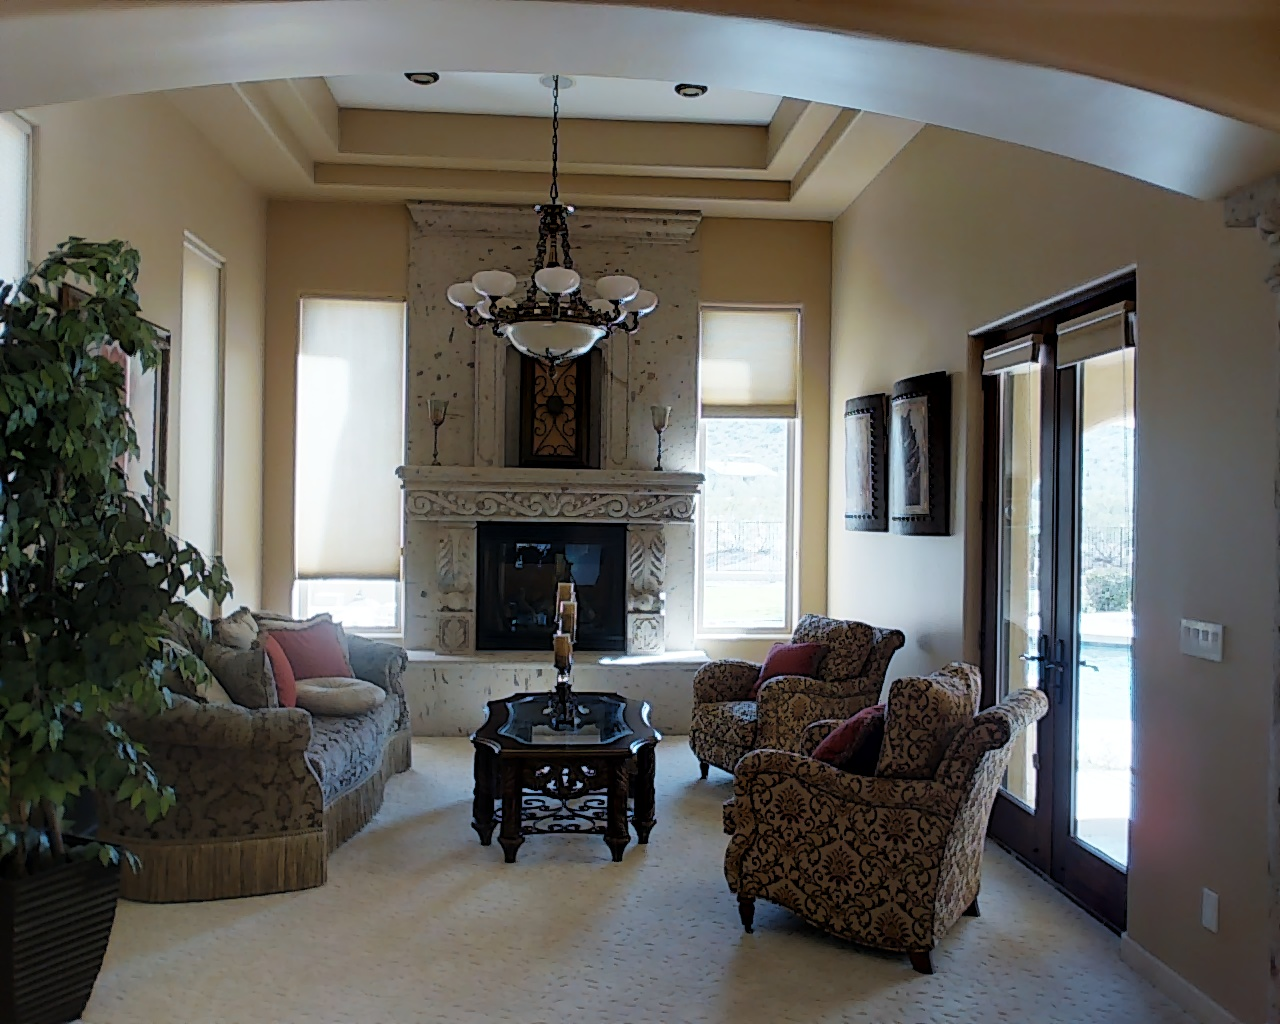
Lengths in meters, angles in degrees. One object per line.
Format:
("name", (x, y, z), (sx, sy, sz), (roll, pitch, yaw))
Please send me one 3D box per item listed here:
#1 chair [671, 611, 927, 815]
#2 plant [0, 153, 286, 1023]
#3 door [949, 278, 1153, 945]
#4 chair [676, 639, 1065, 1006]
("chair", (0.880, 1.070, 6.010), (1.090, 0.930, 0.880), (2, 0, -28))
("plant", (-1.810, 0.300, 3.180), (1.050, 2.370, 0.960), (2, 0, 41))
("door", (1.650, 0.350, 4.460), (0.130, 2.330, 1.450), (2, 0, -4))
("chair", (0.880, 1.040, 3.980), (1.170, 0.960, 0.910), (2, 0, 30))
